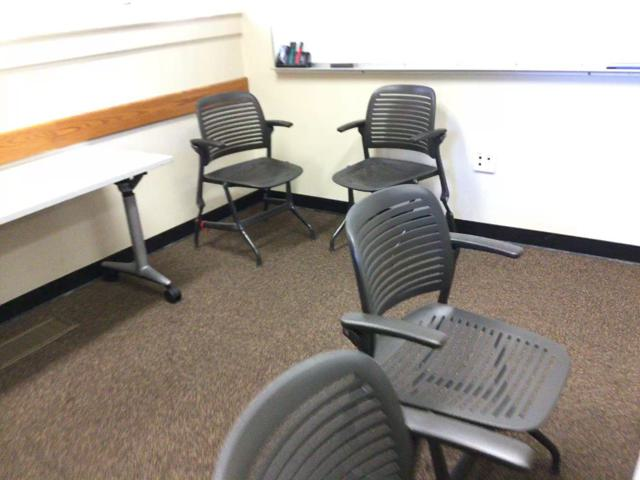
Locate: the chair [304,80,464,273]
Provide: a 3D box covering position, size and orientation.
[{"bbox_3d":[0.370,-0.370,3.040,0.570,0.820,0.630,9,26,33],"label":"chair"}]

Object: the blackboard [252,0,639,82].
[{"bbox_3d":[0.630,-1.020,2.870,2.320,0.390,0.170,9,26,33],"label":"blackboard"}]

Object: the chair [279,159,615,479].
[{"bbox_3d":[0.370,0.290,1.520,0.620,0.850,0.620,6,25,28],"label":"chair"}]

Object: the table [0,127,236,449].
[{"bbox_3d":[-1.450,0.280,1.970,0.810,0.800,2.430,9,26,33],"label":"table"}]
